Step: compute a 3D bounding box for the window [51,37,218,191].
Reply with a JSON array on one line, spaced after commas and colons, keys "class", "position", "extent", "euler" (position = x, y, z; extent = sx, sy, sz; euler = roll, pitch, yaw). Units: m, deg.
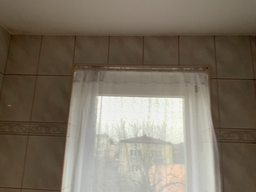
[{"class": "window", "position": [0.040, 0.550, 1.230], "extent": [0.940, 1.870, 0.080], "euler": [2, -13, -1]}]
